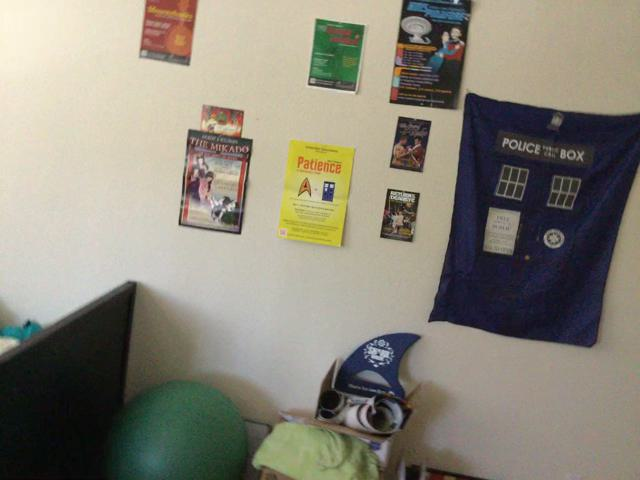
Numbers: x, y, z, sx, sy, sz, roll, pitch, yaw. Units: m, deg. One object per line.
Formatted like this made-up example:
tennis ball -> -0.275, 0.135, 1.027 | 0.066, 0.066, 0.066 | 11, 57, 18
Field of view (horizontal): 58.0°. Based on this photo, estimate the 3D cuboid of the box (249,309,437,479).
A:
box -> 0.060, 0.830, 2.360 | 0.590, 0.910, 0.530 | 10, 6, 2
